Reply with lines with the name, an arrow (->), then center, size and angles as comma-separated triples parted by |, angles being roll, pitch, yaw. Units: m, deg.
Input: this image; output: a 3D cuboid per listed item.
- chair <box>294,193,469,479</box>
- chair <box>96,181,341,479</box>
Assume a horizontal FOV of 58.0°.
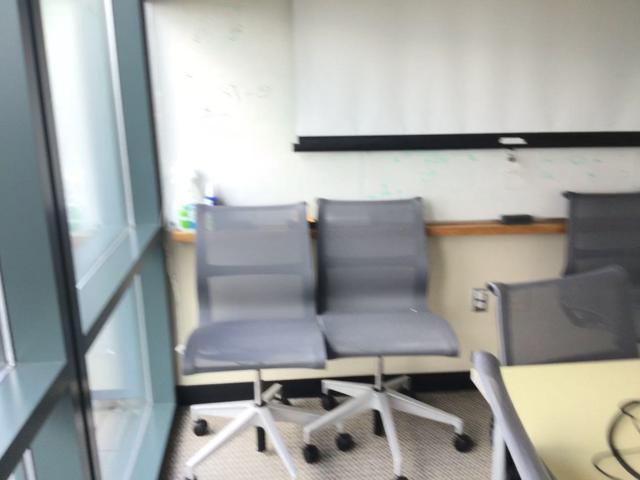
chair -> 0.230, 0.340, 2.260 | 0.560, 0.930, 0.610 | -3, 13, 2
chair -> -0.310, 0.350, 2.200 | 0.690, 1.020, 0.700 | -4, 13, -1
